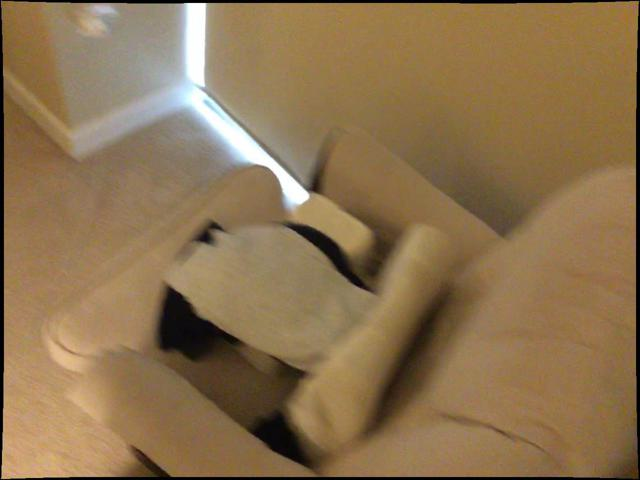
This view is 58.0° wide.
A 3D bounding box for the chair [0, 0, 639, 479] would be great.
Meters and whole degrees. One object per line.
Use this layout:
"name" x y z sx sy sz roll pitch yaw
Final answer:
"chair" 0.020 0.140 1.040 0.939 0.961 0.810 32 56 13
